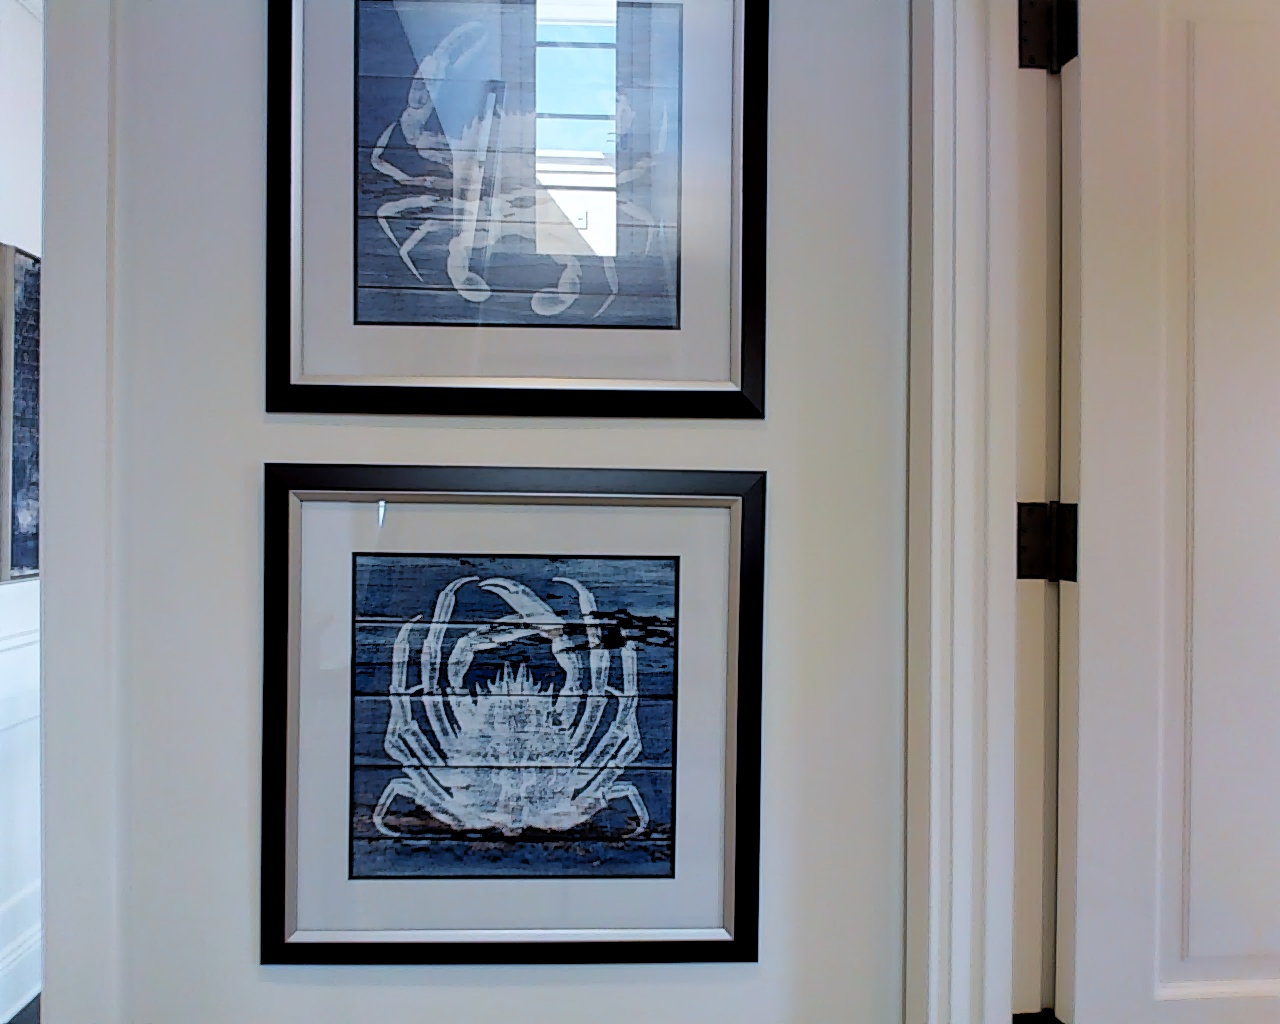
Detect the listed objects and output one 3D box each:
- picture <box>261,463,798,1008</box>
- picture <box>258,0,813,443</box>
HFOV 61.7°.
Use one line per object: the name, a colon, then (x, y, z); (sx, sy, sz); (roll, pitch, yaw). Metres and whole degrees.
picture: (-0.150, 0.310, 1.500); (0.740, 0.750, 0.020); (0, 0, -3)
picture: (-0.140, -0.480, 1.490); (0.760, 0.760, 0.020); (0, 0, -3)
